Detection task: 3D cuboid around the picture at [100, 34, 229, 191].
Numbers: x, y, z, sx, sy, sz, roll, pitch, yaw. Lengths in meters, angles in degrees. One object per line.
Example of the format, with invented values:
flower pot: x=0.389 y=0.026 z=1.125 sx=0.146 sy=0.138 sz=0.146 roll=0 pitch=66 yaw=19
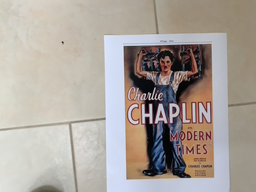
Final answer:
picture: x=0.060 y=0.050 z=0.350 sx=0.210 sy=0.010 sz=0.300 roll=0 pitch=91 yaw=-1
